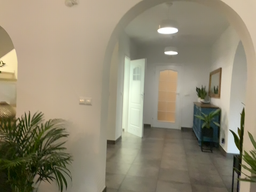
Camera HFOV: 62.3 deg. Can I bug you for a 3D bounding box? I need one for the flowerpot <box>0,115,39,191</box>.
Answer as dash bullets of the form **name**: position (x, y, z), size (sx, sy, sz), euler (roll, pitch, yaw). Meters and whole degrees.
- **flowerpot**: position (-1.050, 0.810, 1.910), size (0.270, 1.220, 0.320), euler (4, 3, 21)
